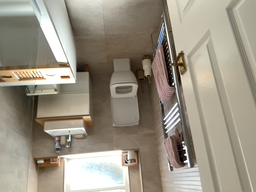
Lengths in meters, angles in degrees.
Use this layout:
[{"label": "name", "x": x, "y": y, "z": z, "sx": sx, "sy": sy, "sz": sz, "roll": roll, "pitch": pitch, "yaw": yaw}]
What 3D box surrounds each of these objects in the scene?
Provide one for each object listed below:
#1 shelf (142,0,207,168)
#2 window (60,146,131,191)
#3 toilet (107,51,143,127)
[{"label": "shelf", "x": 0.330, "y": -0.140, "z": 1.900, "sx": 0.220, "sy": 1.460, "sz": 0.640, "roll": -4, "pitch": 159, "yaw": -2}, {"label": "window", "x": -0.450, "y": 1.270, "z": 3.020, "sx": 0.950, "sy": 1.000, "sz": 0.300, "roll": -2, "pitch": 159, "yaw": -7}, {"label": "toilet", "x": -0.060, "y": -0.070, "z": 2.770, "sx": 0.370, "sy": 0.810, "sz": 0.610, "roll": -3, "pitch": 159, "yaw": -5}]
